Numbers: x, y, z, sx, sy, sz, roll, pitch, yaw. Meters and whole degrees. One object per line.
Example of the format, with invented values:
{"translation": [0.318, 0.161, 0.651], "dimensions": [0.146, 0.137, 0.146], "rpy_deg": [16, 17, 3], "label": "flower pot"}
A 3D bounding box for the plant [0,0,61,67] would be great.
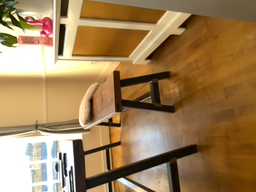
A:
{"translation": [-0.730, -0.460, 1.230], "dimensions": [0.590, 0.610, 0.380], "rpy_deg": [146, 120, -66], "label": "plant"}

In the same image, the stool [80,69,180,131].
{"translation": [-0.130, 0.130, 2.140], "dimensions": [1.510, 0.480, 0.320], "rpy_deg": [149, 118, -67], "label": "stool"}
